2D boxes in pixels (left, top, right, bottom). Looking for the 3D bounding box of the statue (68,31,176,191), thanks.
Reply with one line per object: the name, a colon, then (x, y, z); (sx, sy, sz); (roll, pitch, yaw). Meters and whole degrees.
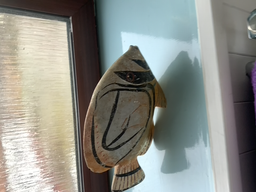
statue: (-0.020, 0.030, 0.430); (0.160, 0.150, 0.270); (8, 99, 56)
